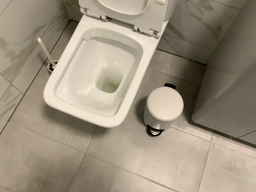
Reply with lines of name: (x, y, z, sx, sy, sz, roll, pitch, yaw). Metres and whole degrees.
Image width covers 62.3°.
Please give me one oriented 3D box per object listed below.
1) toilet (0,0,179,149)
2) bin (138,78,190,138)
toilet: (-0.070, -0.220, 0.860, 0.390, 0.840, 0.650, 20, 70, 7)
bin: (0.170, 0.070, 1.070, 0.170, 0.250, 0.190, 18, 70, 6)
